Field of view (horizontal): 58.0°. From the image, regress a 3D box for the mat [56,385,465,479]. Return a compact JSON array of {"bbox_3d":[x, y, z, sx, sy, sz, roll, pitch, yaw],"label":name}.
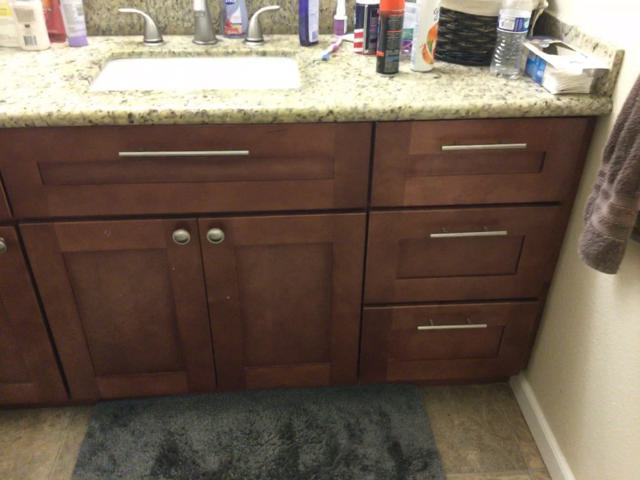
[{"bbox_3d":[-0.140,0.620,1.410,0.990,0.070,0.630,-1,30,-3],"label":"mat"}]
